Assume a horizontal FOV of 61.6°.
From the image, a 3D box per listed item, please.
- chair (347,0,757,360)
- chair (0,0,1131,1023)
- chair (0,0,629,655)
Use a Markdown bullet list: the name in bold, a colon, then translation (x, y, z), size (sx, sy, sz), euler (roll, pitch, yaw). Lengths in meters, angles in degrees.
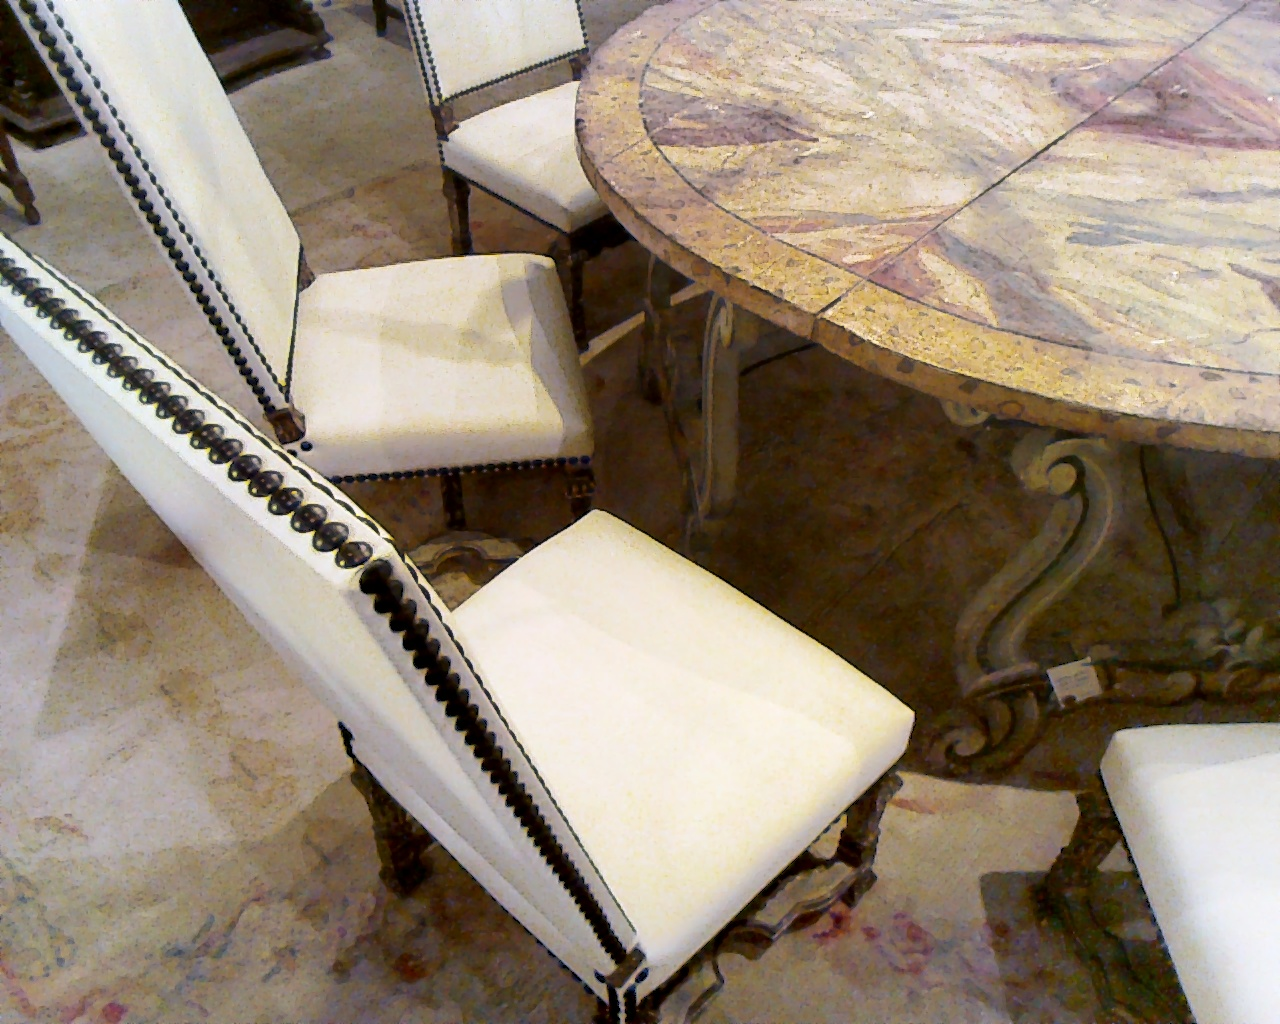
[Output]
- **chair**: translation (-0.210, -1.110, 2.570), size (0.750, 1.140, 0.600), euler (32, 51, 30)
- **chair**: translation (-0.070, 0.160, 1.200), size (0.590, 1.130, 0.750), euler (32, 51, 30)
- **chair**: translation (-0.450, -0.420, 1.830), size (0.750, 1.130, 0.640), euler (-7, 43, -8)
